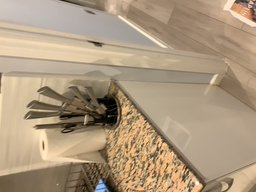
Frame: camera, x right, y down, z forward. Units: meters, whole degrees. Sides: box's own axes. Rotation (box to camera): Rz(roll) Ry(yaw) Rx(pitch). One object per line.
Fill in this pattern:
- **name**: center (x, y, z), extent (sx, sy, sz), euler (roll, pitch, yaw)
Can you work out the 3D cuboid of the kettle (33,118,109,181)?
- **kettle**: center (-0.260, 0.230, 0.960), extent (0.150, 0.270, 0.190), euler (49, 128, 41)
